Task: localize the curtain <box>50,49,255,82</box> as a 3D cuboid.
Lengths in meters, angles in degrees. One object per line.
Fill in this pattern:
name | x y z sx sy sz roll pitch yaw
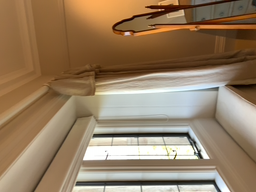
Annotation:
curtain | 0.390 -0.340 2.230 0.560 2.200 0.220 -90 0 -70
